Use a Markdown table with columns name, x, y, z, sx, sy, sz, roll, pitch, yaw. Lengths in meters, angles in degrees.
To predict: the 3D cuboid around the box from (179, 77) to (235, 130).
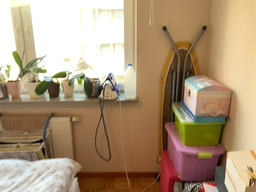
| name | x | y | z | sx | sy | sz | roll | pitch | yaw |
| --- | --- | --- | --- | --- | --- | --- | --- | --- | --- |
| box | 0.620 | 0.040 | 1.750 | 0.260 | 0.310 | 0.450 | -1 | 16 | -2 |

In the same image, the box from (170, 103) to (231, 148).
| name | x | y | z | sx | sy | sz | roll | pitch | yaw |
| --- | --- | --- | --- | --- | --- | --- | --- | --- | --- |
| box | 0.600 | 0.240 | 1.870 | 0.350 | 0.210 | 0.500 | 0 | 16 | 0 |
